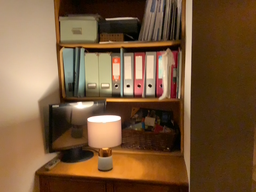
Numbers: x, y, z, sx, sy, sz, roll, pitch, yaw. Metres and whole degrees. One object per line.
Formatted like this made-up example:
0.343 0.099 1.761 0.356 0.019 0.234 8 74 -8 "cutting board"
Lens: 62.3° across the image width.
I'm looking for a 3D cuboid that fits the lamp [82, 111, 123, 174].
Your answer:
-0.140 0.260 1.250 0.180 0.300 0.230 0 7 8 "lamp"
